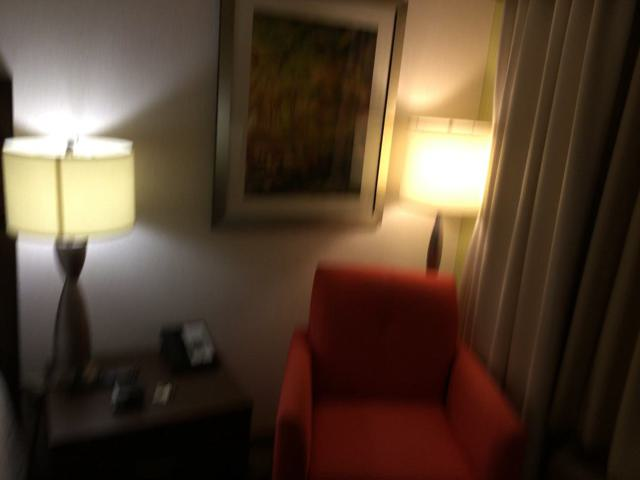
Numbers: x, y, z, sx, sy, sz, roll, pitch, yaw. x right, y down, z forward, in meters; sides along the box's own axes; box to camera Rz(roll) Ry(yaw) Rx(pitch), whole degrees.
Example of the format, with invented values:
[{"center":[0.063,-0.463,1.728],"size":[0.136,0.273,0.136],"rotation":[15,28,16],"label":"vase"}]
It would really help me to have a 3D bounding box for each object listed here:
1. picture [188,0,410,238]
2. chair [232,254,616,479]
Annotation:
[{"center":[-0.070,-0.500,2.260],"size":[0.820,0.980,0.110],"rotation":[-1,12,-29],"label":"picture"},{"center":[0.260,0.650,2.050],"size":[0.980,0.940,0.900],"rotation":[6,11,2],"label":"chair"}]
